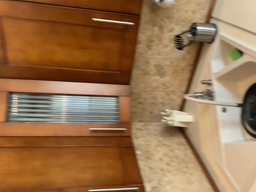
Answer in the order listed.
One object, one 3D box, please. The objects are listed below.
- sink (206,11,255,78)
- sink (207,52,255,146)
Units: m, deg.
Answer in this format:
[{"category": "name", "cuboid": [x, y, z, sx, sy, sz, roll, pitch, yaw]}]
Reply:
[{"category": "sink", "cuboid": [0.640, -0.270, 1.220, 0.370, 0.160, 0.220, 134, 137, -71]}, {"category": "sink", "cuboid": [0.680, 0.050, 1.170, 0.440, 0.220, 0.440, 134, 137, -71]}]
